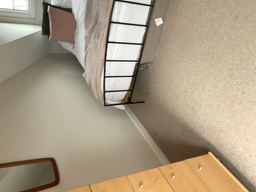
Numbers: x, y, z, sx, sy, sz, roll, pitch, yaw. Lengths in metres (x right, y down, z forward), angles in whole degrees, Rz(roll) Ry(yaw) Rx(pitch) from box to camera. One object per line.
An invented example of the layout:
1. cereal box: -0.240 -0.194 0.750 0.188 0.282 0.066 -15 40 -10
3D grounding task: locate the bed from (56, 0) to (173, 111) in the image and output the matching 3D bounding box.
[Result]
1. bed: -0.420 -1.180 2.790 2.330 0.600 1.660 52 137 47
